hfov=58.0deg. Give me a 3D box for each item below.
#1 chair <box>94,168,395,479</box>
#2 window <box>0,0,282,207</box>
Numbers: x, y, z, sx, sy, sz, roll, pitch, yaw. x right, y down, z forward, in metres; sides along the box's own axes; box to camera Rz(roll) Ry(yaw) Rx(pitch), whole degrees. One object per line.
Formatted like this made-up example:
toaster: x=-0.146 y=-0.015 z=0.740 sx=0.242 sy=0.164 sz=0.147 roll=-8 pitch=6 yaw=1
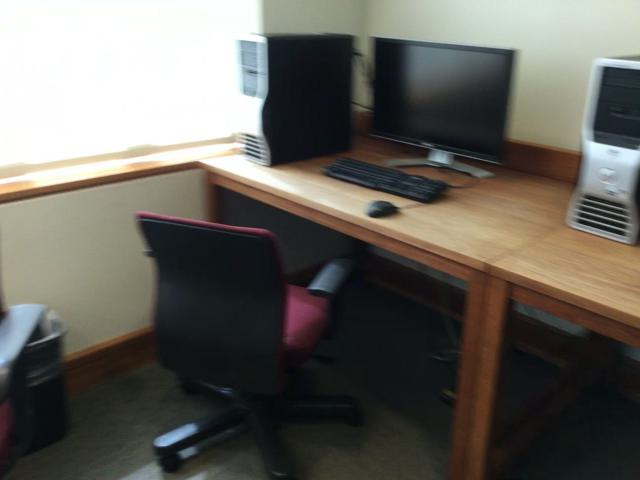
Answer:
chair: x=-0.200 y=0.270 z=1.760 sx=0.630 sy=0.800 sz=0.610 roll=11 pitch=20 yaw=18
window: x=-0.910 y=-0.510 z=1.710 sx=1.830 sy=0.770 sz=0.230 roll=-13 pitch=26 yaw=-41
